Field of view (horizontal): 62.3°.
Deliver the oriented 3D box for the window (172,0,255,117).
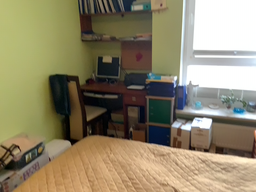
[{"bbox_3d":[1.240,-0.710,2.480,1.340,1.930,0.170,4,17,17],"label":"window"}]
